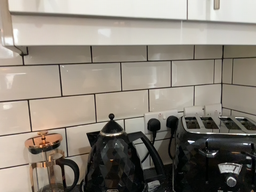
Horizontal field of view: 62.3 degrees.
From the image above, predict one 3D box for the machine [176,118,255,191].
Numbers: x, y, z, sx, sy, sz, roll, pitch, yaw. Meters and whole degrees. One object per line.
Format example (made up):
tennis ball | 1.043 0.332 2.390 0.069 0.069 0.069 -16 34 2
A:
machine | 0.300 0.190 0.620 0.290 0.200 0.210 -1 9 8
